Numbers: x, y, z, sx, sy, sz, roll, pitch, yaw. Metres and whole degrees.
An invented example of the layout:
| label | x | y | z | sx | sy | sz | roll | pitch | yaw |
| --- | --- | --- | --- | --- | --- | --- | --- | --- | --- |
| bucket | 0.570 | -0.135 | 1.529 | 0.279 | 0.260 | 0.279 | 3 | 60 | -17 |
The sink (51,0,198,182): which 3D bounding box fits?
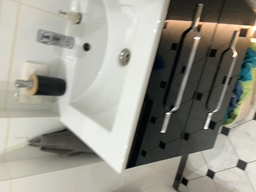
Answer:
| label | x | y | z | sx | sy | sz | roll | pitch | yaw |
| --- | --- | --- | --- | --- | --- | --- | --- | --- | --- |
| sink | -0.050 | -0.140 | 0.710 | 0.440 | 0.130 | 0.650 | 24 | 103 | 44 |
